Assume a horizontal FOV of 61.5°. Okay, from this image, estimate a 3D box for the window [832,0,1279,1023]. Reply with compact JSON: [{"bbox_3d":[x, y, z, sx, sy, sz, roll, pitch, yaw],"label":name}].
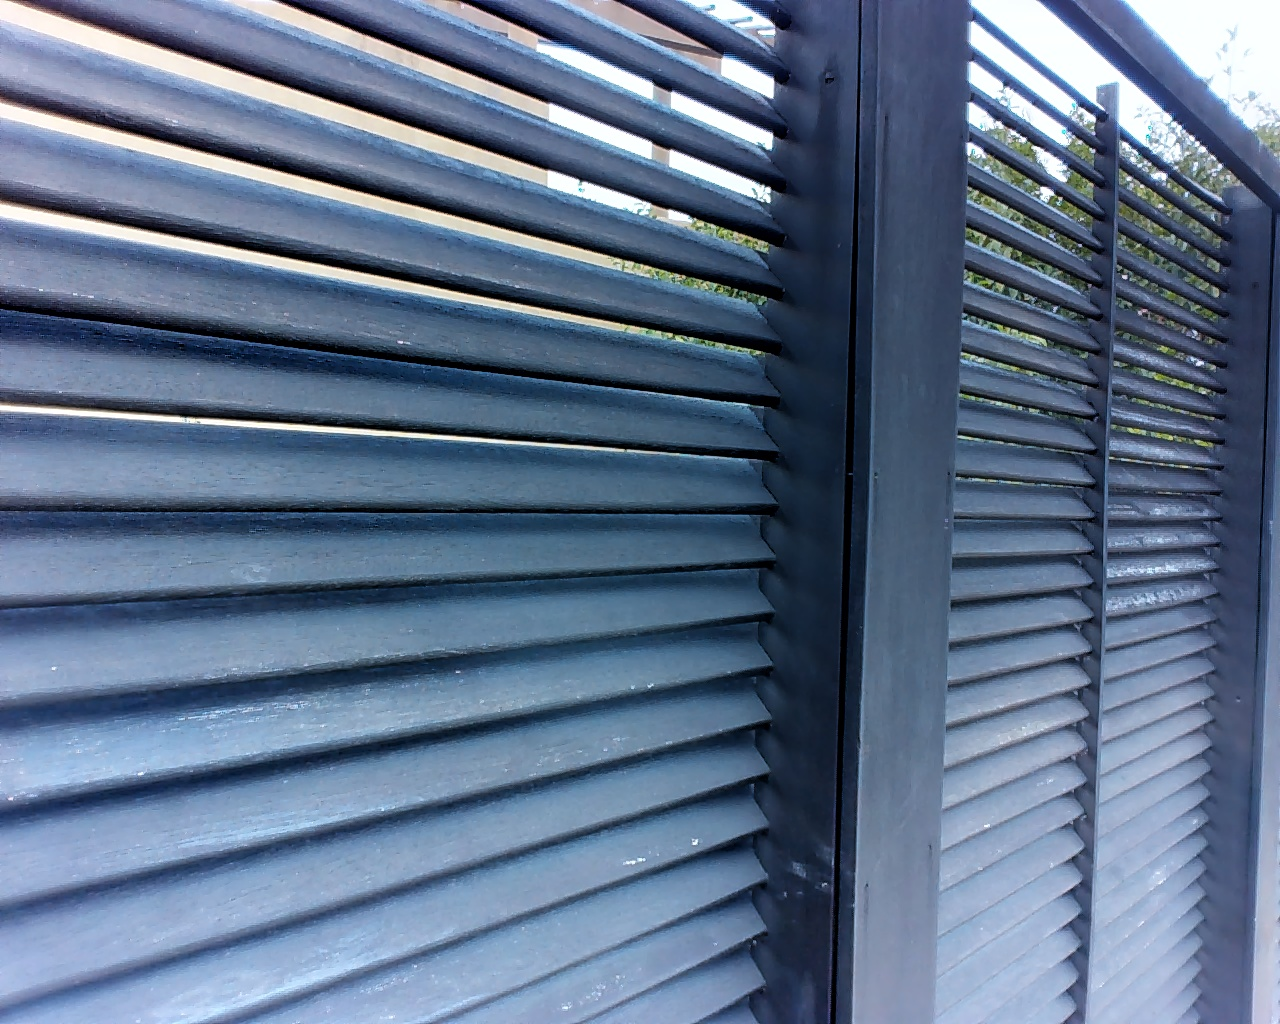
[{"bbox_3d":[0.560,0.490,1.250,0.110,1.991,1.060,2,1,43],"label":"window"}]
